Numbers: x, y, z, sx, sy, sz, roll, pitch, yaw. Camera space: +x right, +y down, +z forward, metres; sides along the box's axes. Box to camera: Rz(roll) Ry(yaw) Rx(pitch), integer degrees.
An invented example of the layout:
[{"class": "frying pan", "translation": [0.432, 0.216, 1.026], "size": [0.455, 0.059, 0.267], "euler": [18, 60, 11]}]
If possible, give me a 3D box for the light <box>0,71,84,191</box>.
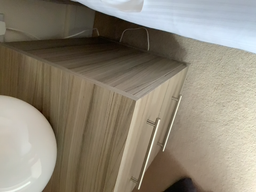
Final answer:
[{"class": "light", "translation": [-0.280, 0.130, 0.440], "size": [0.260, 0.210, 0.260], "euler": [23, 116, 19]}]
